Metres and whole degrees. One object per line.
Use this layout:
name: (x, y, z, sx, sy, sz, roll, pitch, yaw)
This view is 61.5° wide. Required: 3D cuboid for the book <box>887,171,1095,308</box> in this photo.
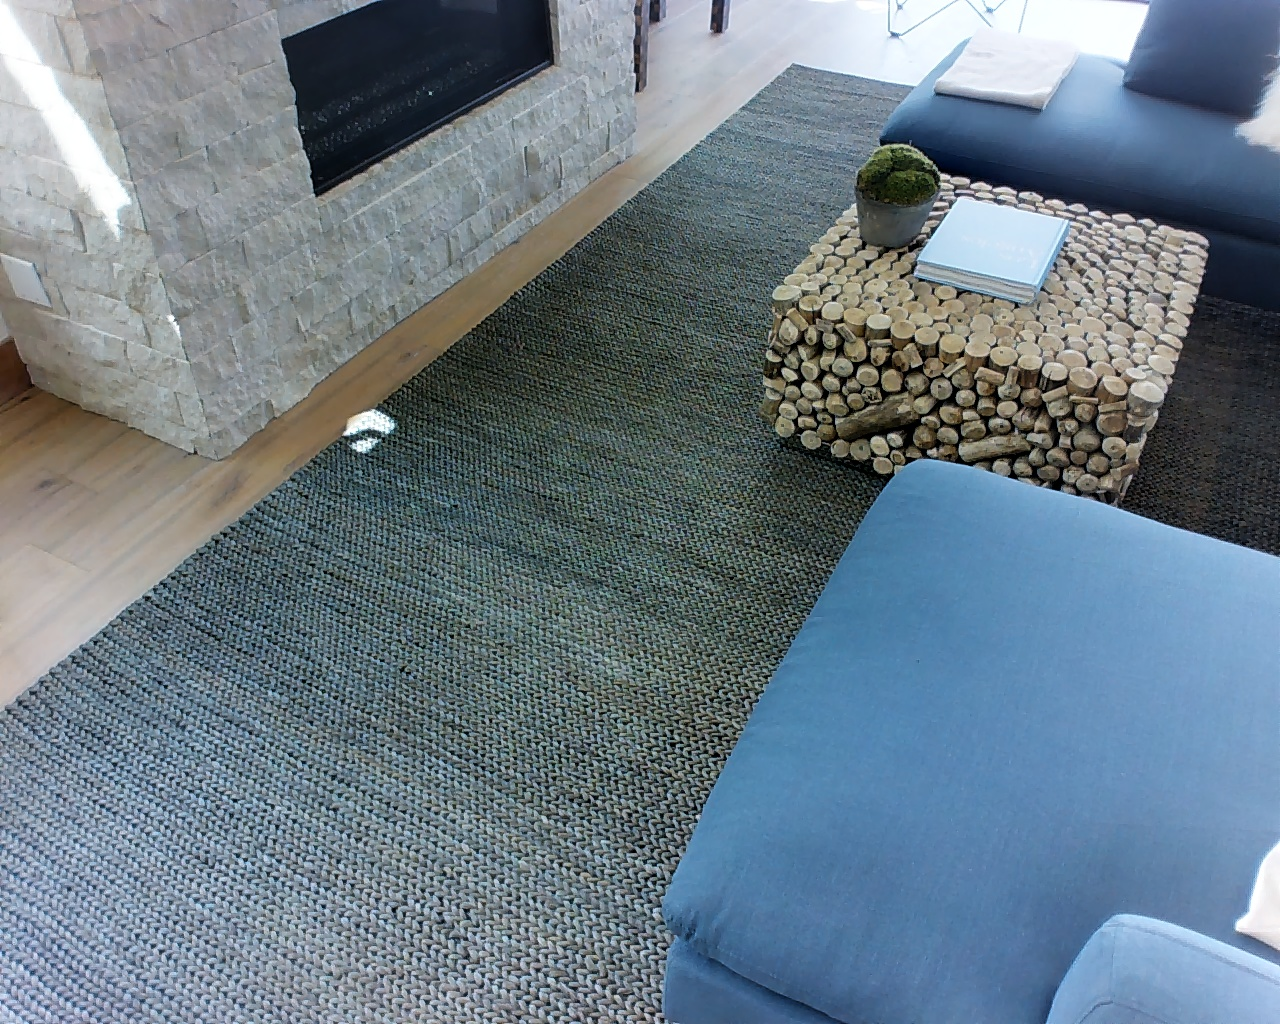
book: (0.790, -0.620, 2.400, 0.340, 0.050, 0.430, 21, 45, 21)
